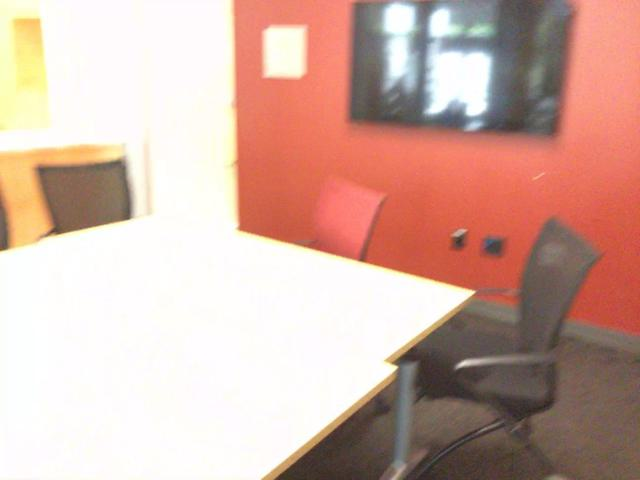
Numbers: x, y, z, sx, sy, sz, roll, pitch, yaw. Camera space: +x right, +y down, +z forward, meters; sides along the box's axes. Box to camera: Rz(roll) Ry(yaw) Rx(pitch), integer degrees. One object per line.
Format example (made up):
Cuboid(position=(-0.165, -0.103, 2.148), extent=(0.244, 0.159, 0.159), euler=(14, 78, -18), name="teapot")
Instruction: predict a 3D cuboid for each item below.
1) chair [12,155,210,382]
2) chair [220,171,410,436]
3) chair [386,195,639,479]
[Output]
Cuboid(position=(-0.950, 0.080, 2.730), extent=(0.550, 0.840, 0.630), euler=(13, 20, 32), name="chair")
Cuboid(position=(-0.060, 0.210, 2.440), extent=(0.550, 0.890, 0.600), euler=(-6, 18, -26), name="chair")
Cuboid(position=(0.550, 0.370, 1.940), extent=(0.570, 0.900, 0.610), euler=(3, 17, 3), name="chair")
